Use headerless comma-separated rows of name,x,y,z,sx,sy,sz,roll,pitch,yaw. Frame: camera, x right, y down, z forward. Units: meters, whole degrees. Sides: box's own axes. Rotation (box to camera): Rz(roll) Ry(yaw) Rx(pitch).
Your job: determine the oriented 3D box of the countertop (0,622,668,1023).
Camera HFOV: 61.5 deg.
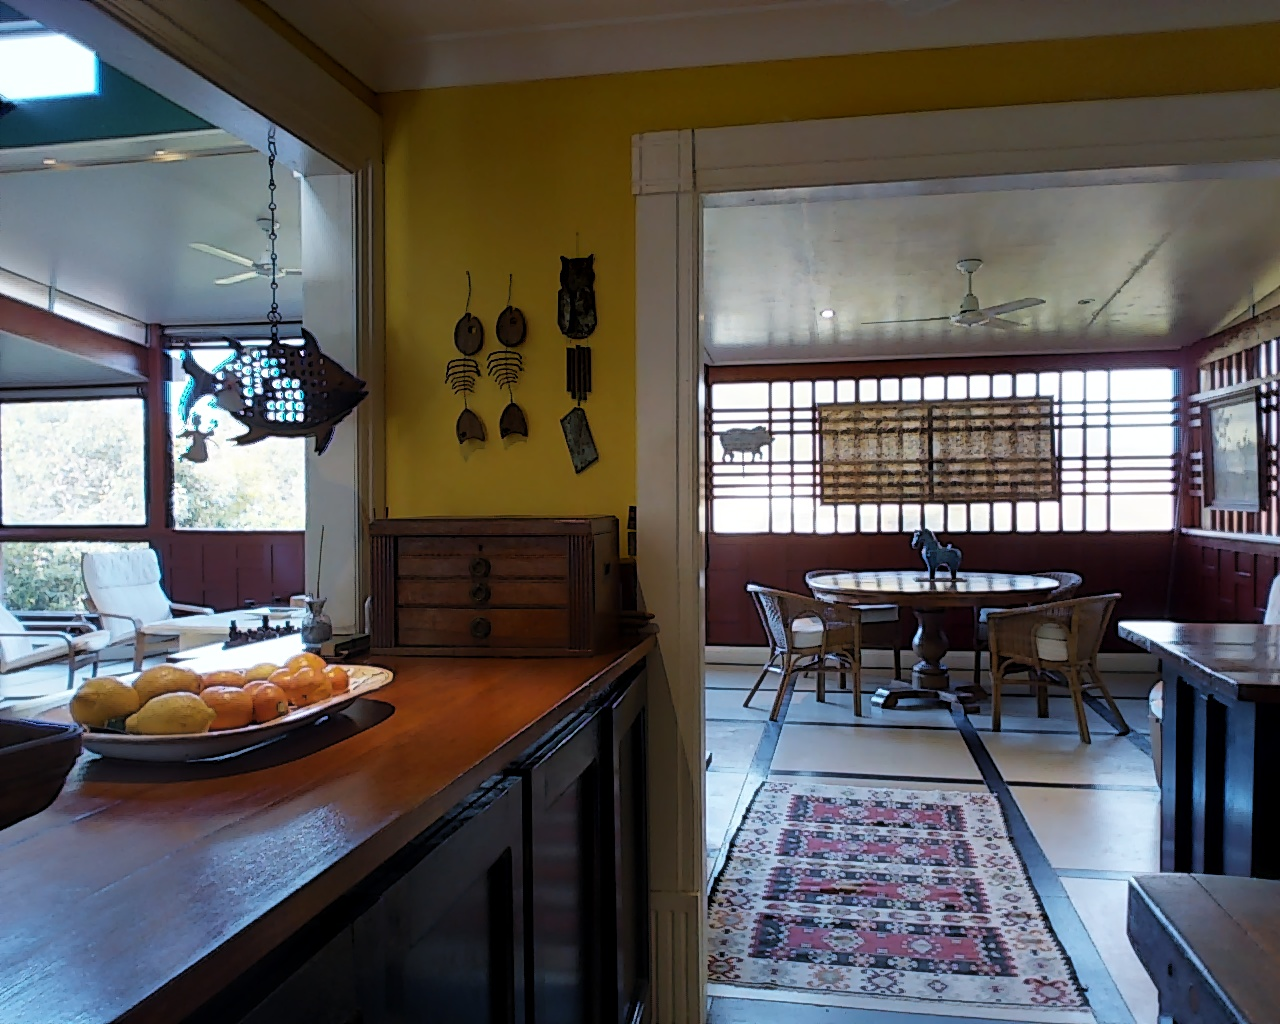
countertop,-0.580,0.310,1.550,0.910,0.060,2.110,0,0,11
